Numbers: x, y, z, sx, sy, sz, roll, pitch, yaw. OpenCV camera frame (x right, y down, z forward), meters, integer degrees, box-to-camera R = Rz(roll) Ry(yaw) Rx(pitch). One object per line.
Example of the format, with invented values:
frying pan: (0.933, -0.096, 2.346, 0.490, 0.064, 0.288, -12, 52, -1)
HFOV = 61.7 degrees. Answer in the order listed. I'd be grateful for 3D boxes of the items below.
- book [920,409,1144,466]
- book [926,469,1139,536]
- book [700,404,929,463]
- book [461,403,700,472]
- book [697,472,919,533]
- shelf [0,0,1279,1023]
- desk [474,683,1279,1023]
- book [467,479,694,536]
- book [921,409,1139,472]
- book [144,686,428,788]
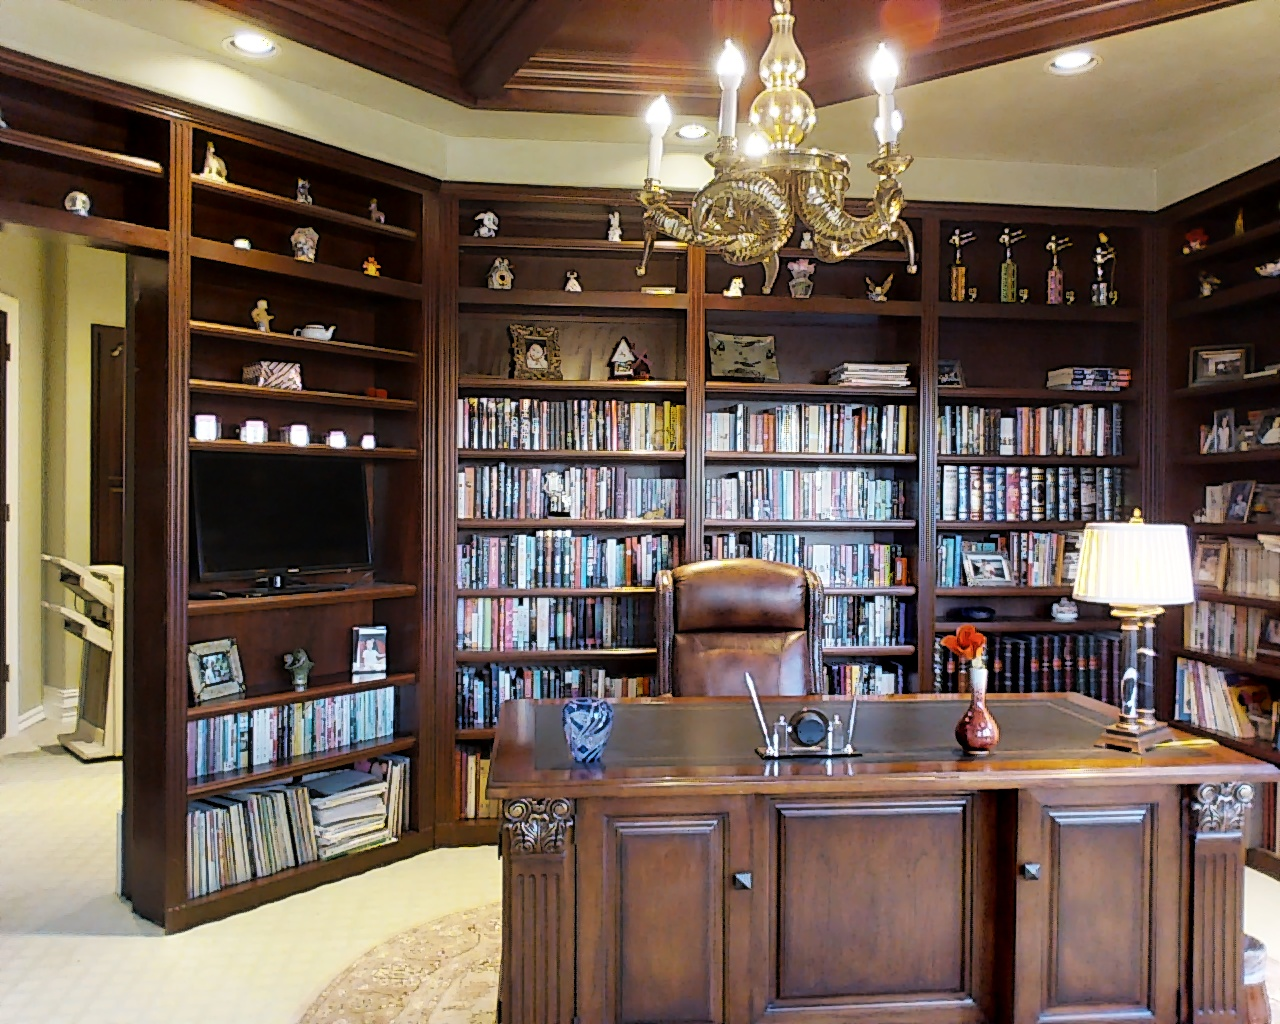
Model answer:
book: (1.750, -0.330, 4.790, 0.950, 0.230, 0.220, 0, 1, -9)
book: (1.760, -0.040, 4.800, 0.950, 0.290, 0.140, 0, 1, -9)
book: (0.750, -0.340, 4.700, 0.940, 0.230, 0.350, 0, 1, -3)
book: (-0.250, -0.310, 4.510, 0.980, 0.270, 0.210, 0, 1, -5)
book: (0.730, -0.040, 4.690, 0.930, 0.260, 0.240, 0, 1, -8)
shelf: (-0.160, 0.060, 3.430, 5.871, 2.650, 2.600, 0, 1, -7)
desk: (0.530, 0.960, 2.870, 1.900, 0.780, 1.140, 0, 1, -7)
book: (-0.250, -0.020, 4.520, 0.930, 0.230, 0.260, 0, 1, -5)
book: (1.760, -0.320, 4.840, 0.940, 0.260, 0.210, 0, 1, -9)
book: (-1.290, 0.820, 4.020, 0.350, 0.230, 0.990, -3, -4, 36)
